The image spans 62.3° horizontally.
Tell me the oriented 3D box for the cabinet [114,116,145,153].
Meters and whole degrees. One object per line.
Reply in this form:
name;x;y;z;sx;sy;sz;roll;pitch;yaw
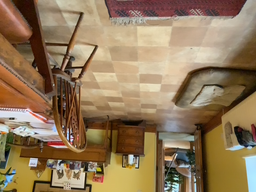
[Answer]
cabinet;0.050;0.770;4.220;0.540;0.630;0.430;2;161;5

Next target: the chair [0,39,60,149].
chair;-0.950;0.000;1.890;0.390;0.850;0.470;3;161;2
